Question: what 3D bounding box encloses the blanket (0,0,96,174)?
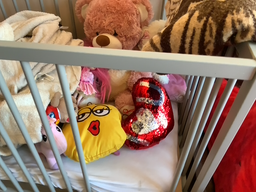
[{"bbox_3d":[-0.580,-0.110,0.900,0.730,0.410,0.630,5,43,4],"label":"blanket"}]
